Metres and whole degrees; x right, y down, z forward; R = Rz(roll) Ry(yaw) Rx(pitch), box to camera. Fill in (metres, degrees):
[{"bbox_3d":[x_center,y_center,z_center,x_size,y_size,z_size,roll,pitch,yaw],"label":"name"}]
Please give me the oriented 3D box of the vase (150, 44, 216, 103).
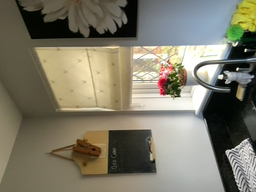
[{"bbox_3d":[0.340,-0.150,1.430,0.250,0.340,0.300,90,178,-52],"label":"vase"}]
